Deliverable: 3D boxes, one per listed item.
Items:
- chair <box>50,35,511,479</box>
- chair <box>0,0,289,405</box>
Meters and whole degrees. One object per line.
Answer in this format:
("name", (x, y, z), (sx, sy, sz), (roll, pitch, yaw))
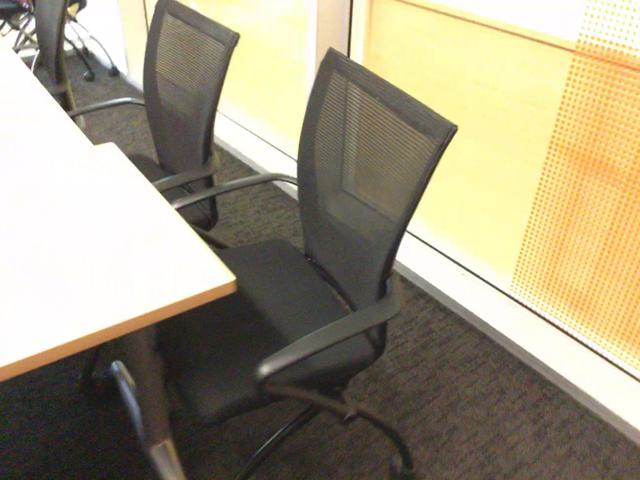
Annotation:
("chair", (-0.110, 0.100, 1.250), (0.550, 0.840, 0.630), (-21, 41, -31))
("chair", (-0.500, -0.160, 1.600), (0.540, 0.820, 0.670), (-21, 41, -31))
